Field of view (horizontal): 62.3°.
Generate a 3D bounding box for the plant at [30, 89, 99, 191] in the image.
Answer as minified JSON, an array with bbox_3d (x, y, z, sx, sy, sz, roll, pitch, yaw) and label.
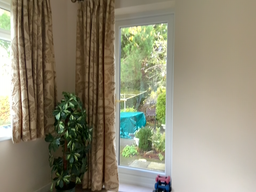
[{"bbox_3d":[-0.690,0.500,2.320,0.520,1.140,0.490,3,3,30],"label":"plant"}]
